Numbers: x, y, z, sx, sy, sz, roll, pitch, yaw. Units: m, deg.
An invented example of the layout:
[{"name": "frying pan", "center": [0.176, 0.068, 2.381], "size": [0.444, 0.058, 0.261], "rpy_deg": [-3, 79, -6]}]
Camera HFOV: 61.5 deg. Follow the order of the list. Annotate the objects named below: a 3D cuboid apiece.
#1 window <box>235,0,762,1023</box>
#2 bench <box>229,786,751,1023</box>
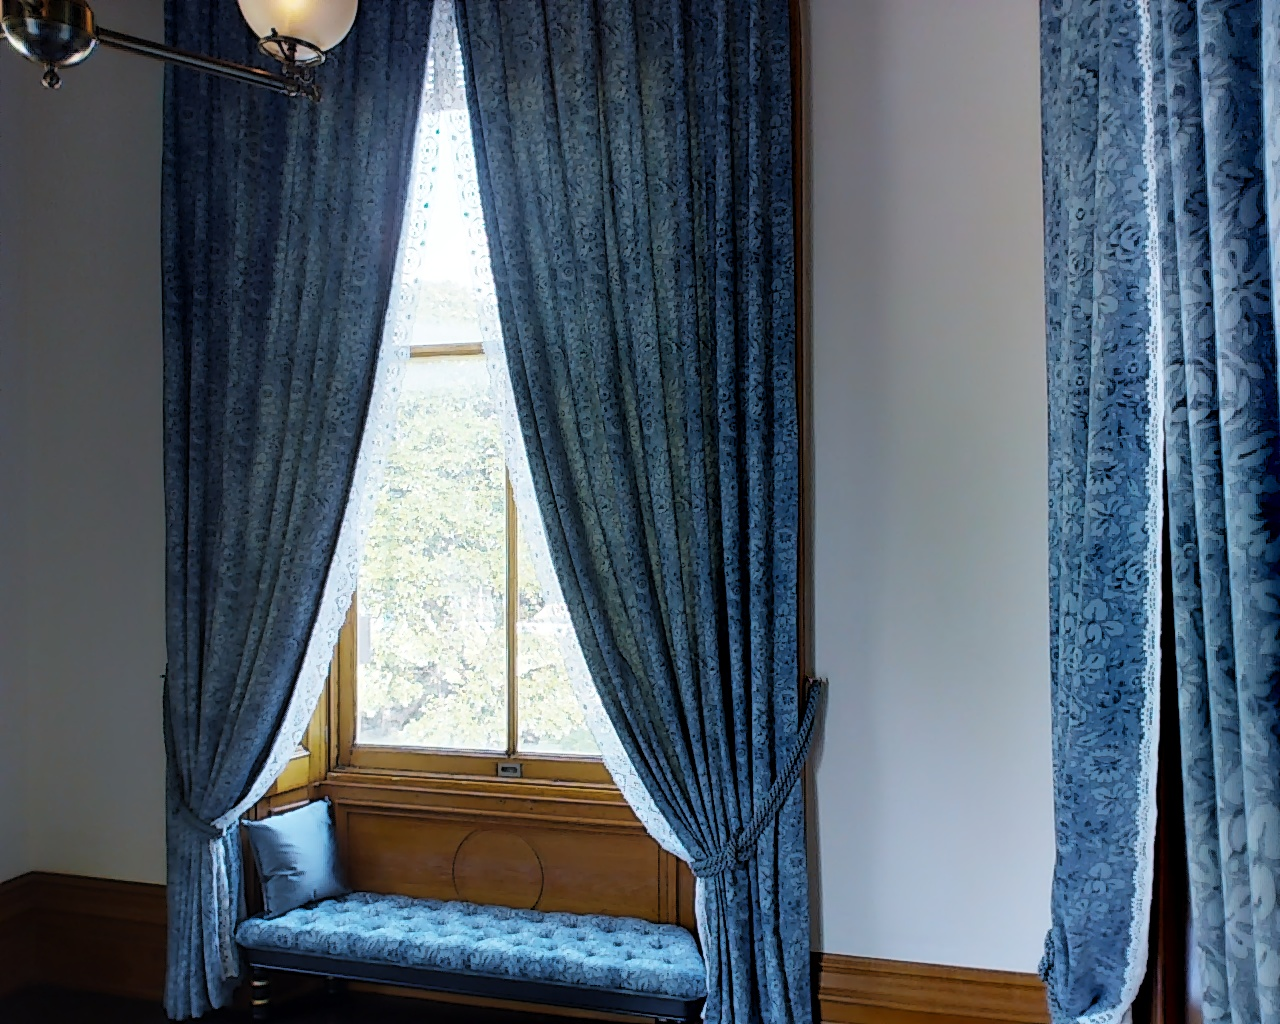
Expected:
[{"name": "window", "center": [-0.470, -0.290, 3.230], "size": [1.650, 3.550, 0.130], "rpy_deg": [0, 1, 17]}, {"name": "bench", "center": [-0.460, 1.250, 3.300], "size": [1.530, 0.580, 0.460], "rpy_deg": [0, 1, 17]}]
